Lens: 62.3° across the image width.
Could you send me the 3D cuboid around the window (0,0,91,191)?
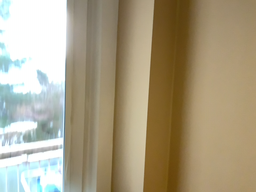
[{"bbox_3d":[-0.630,-0.150,0.870,0.940,1.300,0.190,-1,7,-37],"label":"window"}]
